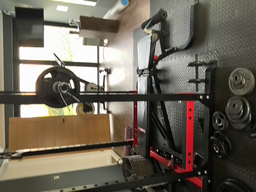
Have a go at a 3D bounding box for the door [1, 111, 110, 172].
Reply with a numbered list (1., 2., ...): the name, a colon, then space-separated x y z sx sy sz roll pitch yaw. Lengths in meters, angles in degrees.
1. door: -1.400 0.870 4.360 0.130 2.090 1.020 174 95 -67
